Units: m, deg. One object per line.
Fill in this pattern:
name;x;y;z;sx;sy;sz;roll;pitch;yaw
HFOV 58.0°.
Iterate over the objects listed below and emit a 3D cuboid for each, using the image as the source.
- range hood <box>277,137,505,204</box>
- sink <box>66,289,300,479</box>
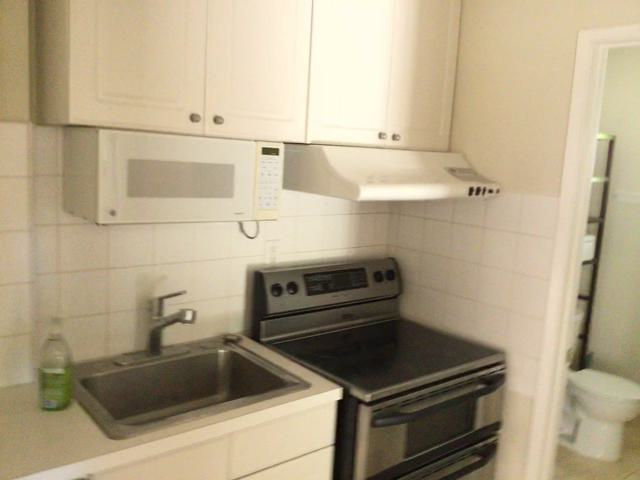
range hood;0.270;-0.260;2.140;0.720;0.200;0.460;-5;10;-38
sink;-0.430;0.430;1.810;0.540;0.410;0.500;-5;10;-38
